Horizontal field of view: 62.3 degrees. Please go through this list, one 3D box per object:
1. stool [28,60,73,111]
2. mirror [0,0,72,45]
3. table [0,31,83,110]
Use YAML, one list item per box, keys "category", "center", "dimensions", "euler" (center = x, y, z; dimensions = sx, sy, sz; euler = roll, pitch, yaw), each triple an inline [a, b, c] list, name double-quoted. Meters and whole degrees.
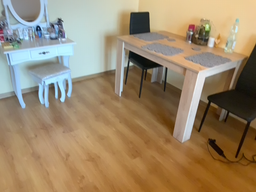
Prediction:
- category: "stool"
  center: [-0.890, -0.130, 2.480]
  dimensions: [0.270, 0.440, 0.360]
  euler: [27, 37, 35]
- category: "mirror"
  center: [-1.010, -0.960, 2.330]
  dimensions: [0.690, 0.640, 0.260]
  euler: [-21, 38, -37]
- category: "table"
  center: [-1.000, -0.340, 2.550]
  dimensions: [0.760, 0.710, 0.440]
  euler: [-18, 36, -34]
